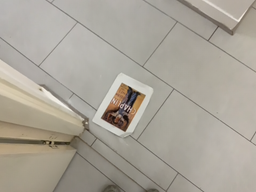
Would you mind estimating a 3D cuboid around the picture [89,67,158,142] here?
[{"bbox_3d":[-0.020,0.040,1.070,0.220,0.030,0.310,28,79,6],"label":"picture"}]
